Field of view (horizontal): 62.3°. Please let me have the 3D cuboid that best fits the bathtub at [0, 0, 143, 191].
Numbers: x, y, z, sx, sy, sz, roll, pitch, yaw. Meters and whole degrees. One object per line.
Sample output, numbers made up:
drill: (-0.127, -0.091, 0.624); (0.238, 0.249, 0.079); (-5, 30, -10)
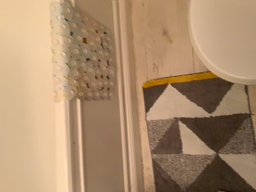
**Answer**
bathtub: (-0.370, 0.160, 1.100); (0.680, 0.590, 1.660); (-5, 87, 25)
